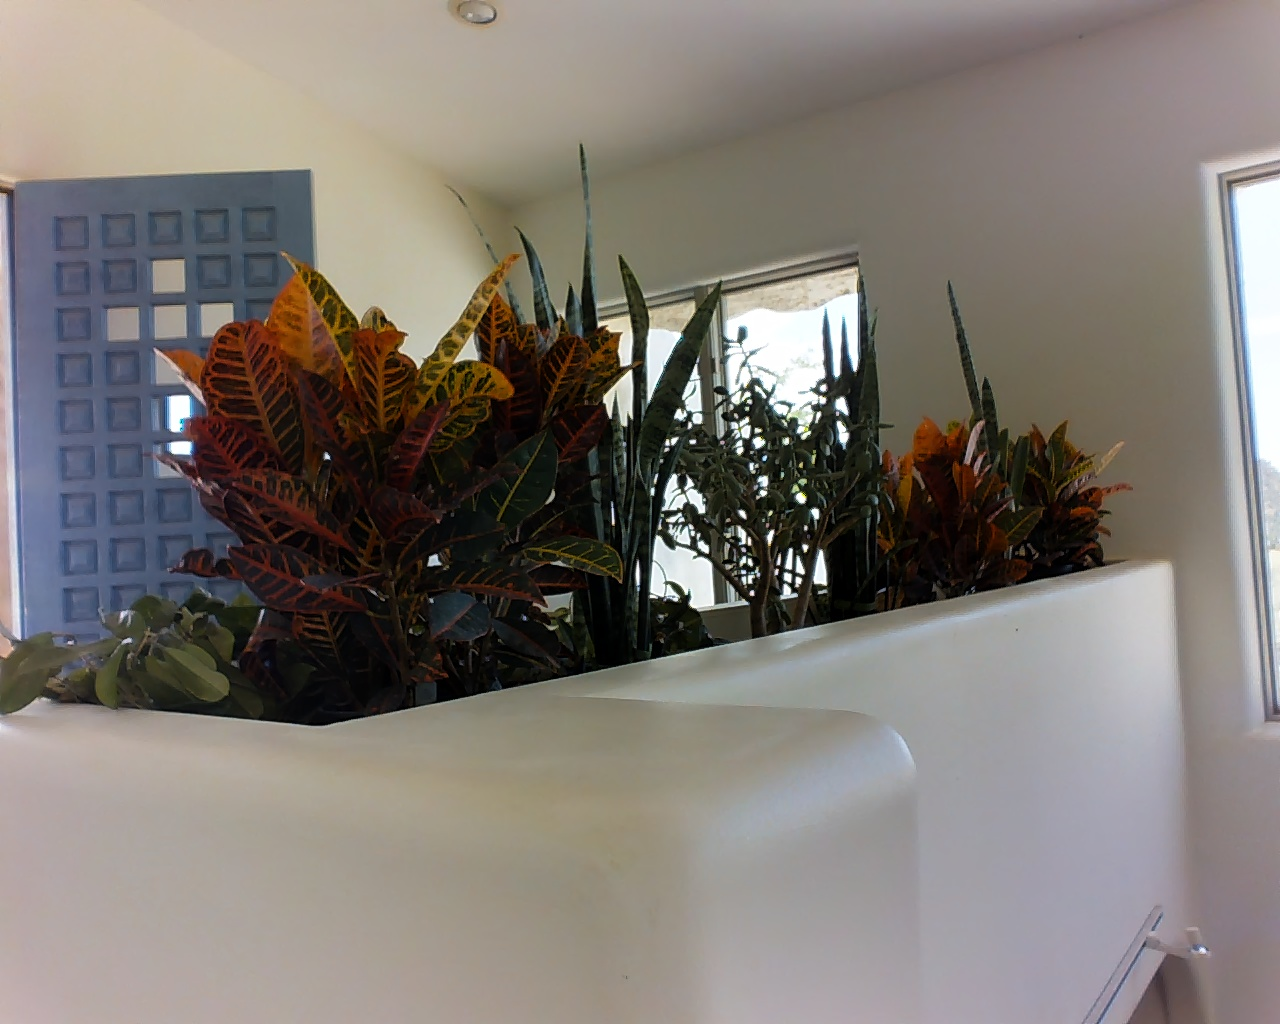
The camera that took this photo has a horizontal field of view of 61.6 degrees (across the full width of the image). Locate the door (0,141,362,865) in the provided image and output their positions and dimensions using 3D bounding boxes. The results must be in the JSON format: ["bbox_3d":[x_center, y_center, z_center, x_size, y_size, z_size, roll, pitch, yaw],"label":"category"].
[{"bbox_3d":[-1.400,-0.050,3.280,0.970,2.141,0.070,-3,-2,-4],"label":"door"}]
